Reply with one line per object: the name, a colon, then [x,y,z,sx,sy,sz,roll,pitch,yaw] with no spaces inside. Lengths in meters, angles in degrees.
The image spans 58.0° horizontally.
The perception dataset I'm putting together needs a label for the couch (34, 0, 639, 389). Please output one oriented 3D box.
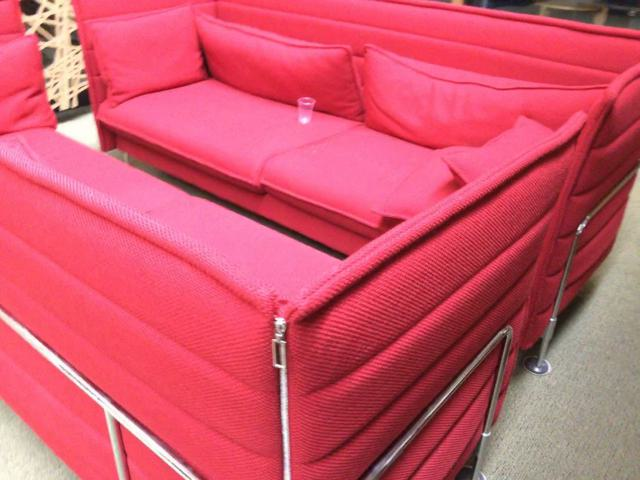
couch: [0.000,-0.560,2.440,2.480,1.010,1.000,20,37,36]
